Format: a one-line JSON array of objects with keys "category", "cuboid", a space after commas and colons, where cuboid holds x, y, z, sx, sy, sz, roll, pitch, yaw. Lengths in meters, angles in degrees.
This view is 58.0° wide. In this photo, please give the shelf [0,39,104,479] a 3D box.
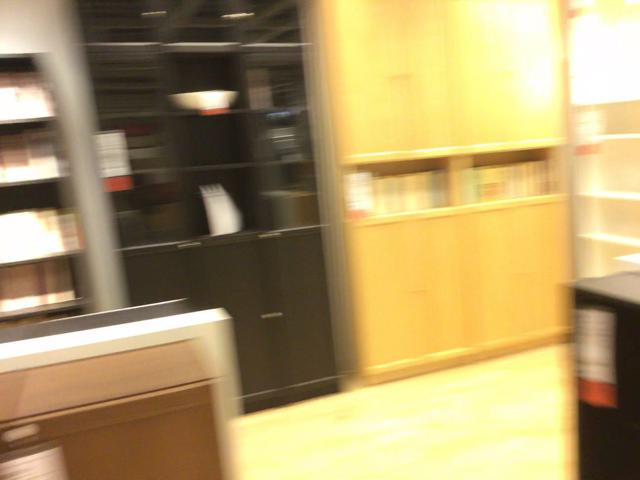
[{"category": "shelf", "cuboid": [-1.610, 0.110, 2.810, 0.890, 1.990, 0.590, -4, 5, -23]}]
